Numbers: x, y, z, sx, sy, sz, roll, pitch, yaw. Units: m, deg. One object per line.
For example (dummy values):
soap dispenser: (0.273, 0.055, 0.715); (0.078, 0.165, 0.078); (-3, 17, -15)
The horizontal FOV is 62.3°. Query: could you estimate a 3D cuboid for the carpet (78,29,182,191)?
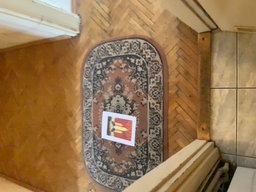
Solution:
carpet: (-0.040, 0.120, 1.560); (0.800, 0.060, 1.120); (5, 94, 32)
